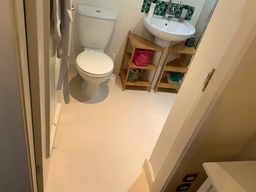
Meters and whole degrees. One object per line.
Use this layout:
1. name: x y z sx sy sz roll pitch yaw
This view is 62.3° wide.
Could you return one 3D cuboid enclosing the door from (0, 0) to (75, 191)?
1. door: -0.370 -0.410 1.010 0.150 2.230 1.050 6 37 -12
